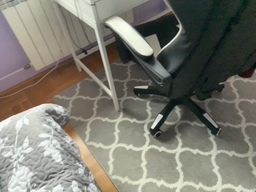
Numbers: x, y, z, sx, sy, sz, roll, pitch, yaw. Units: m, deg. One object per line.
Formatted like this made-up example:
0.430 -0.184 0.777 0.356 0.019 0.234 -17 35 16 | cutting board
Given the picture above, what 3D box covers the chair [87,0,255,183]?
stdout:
0.260 -0.340 0.970 0.700 1.210 0.800 -21 49 -10 | chair
